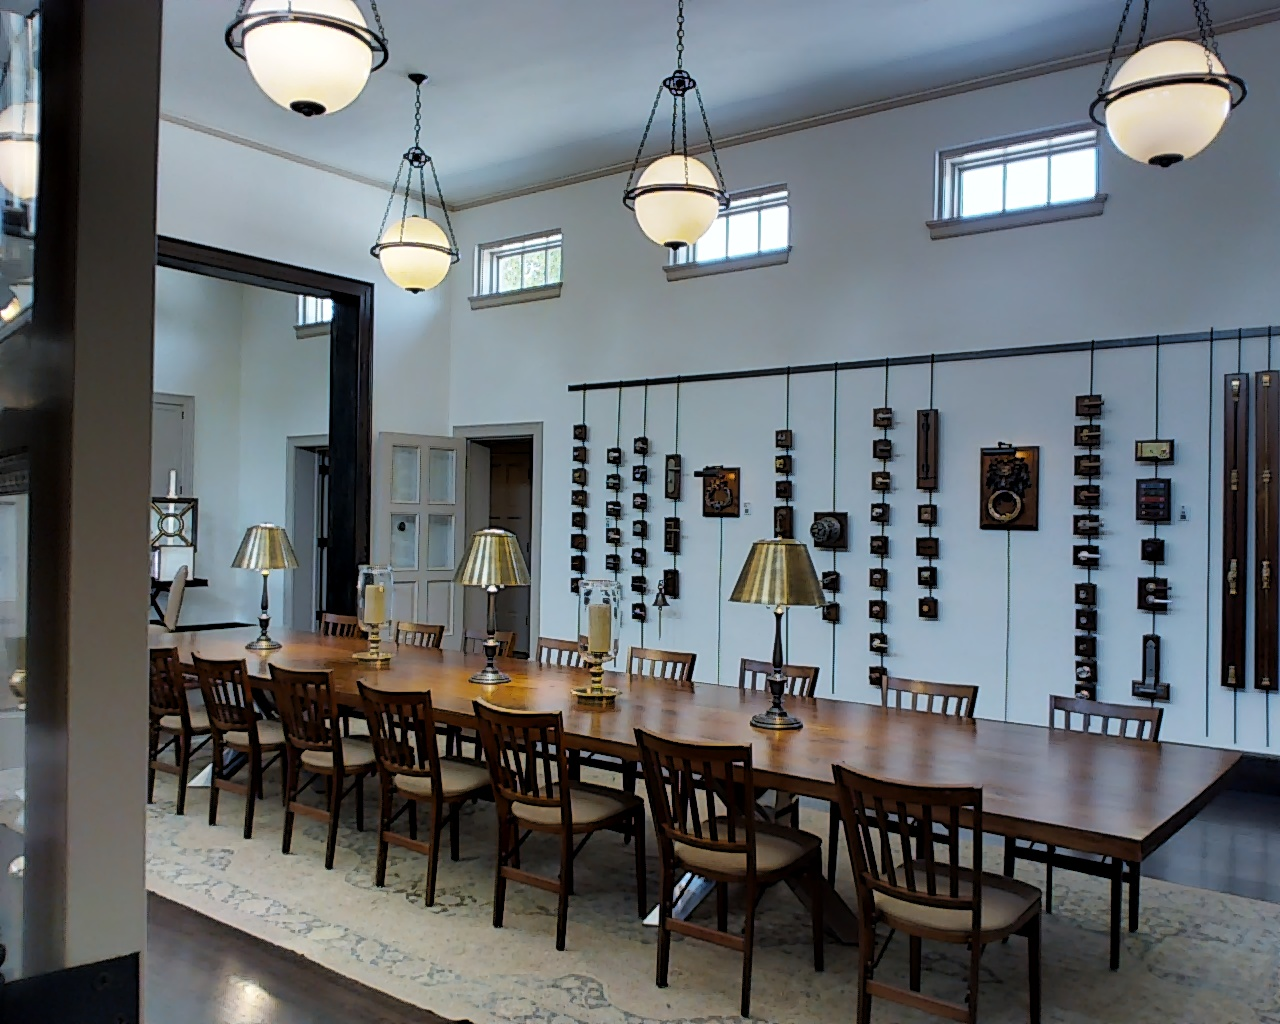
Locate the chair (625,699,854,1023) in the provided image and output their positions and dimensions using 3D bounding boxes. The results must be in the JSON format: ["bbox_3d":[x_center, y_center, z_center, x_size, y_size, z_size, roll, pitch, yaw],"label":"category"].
[{"bbox_3d":[0.340,1.100,3.550,0.490,0.830,0.610,1,-1,38],"label":"chair"}]

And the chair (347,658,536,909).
[{"bbox_3d":[-0.810,1.070,4.400,0.530,0.840,0.530,1,0,38],"label":"chair"}]

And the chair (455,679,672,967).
[{"bbox_3d":[-0.280,1.110,4.010,0.550,0.850,0.570,1,0,38],"label":"chair"}]

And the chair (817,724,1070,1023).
[{"bbox_3d":[0.890,1.110,3.100,0.470,0.840,0.680,1,0,38],"label":"chair"}]

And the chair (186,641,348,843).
[{"bbox_3d":[-1.820,1.090,5.250,0.490,0.830,0.550,1,0,38],"label":"chair"}]

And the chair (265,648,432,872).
[{"bbox_3d":[-1.310,1.080,4.840,0.440,0.850,0.560,1,0,40],"label":"chair"}]
